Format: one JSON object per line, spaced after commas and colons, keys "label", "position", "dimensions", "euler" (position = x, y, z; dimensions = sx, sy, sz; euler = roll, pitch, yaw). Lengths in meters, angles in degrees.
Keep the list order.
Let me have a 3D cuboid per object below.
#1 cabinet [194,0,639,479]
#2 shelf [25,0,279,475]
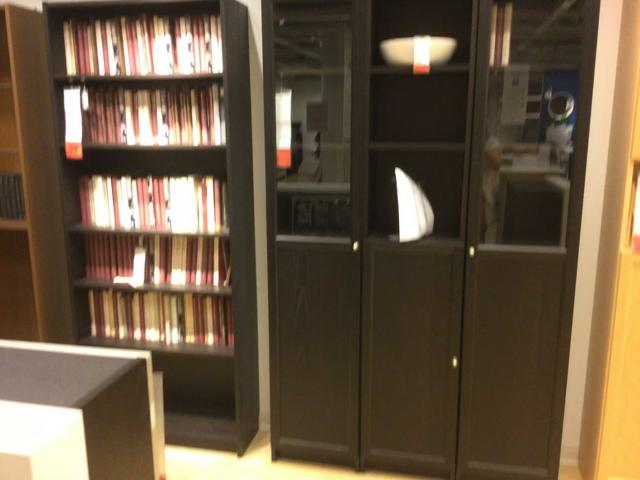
{"label": "cabinet", "position": [0.380, -0.150, 2.330], "dimensions": [1.480, 2.320, 0.710], "euler": [5, 6, 10]}
{"label": "shelf", "position": [-0.740, -0.070, 2.650], "dimensions": [0.890, 1.990, 0.590], "euler": [5, 9, 10]}
